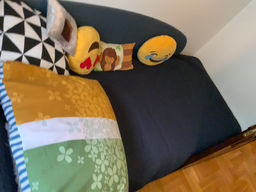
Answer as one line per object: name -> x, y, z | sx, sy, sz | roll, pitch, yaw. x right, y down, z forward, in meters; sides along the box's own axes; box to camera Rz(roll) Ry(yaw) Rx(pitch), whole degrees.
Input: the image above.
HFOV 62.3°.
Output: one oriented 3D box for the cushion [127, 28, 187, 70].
cushion -> 0.240, -0.380, 1.760 | 0.370, 0.300, 0.160 | -10, 65, -40
